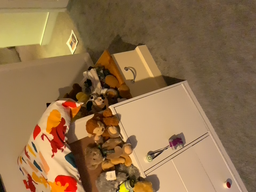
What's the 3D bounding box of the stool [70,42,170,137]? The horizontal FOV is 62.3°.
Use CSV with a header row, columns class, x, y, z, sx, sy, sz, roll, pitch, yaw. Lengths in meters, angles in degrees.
class,x,y,z,sx,sy,sz,roll,pitch,yaw
stool,-0.150,-0.020,2.080,0.970,0.440,0.470,-40,72,51
